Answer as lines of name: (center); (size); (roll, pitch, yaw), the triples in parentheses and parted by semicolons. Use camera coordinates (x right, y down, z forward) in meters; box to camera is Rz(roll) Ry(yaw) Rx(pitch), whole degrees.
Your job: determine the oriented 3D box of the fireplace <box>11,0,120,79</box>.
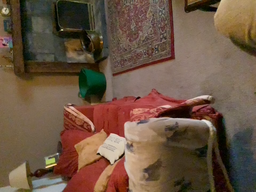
fireplace: (-0.940, -1.190, 3.040); (0.770, 1.280, 1.760); (-10, 85, 61)
